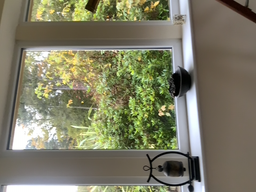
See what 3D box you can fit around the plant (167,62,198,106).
[{"bbox_3d":[0.360,-0.070,1.440,0.250,0.130,0.220,92,178,-71],"label":"plant"}]
